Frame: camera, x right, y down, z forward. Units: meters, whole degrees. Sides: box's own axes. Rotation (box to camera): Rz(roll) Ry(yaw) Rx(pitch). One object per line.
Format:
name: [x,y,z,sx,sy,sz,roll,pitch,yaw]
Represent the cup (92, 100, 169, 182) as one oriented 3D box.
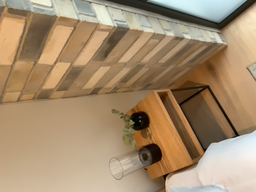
cup: [0.010,0.220,1.120,0.140,0.270,0.340,-40,66,43]
